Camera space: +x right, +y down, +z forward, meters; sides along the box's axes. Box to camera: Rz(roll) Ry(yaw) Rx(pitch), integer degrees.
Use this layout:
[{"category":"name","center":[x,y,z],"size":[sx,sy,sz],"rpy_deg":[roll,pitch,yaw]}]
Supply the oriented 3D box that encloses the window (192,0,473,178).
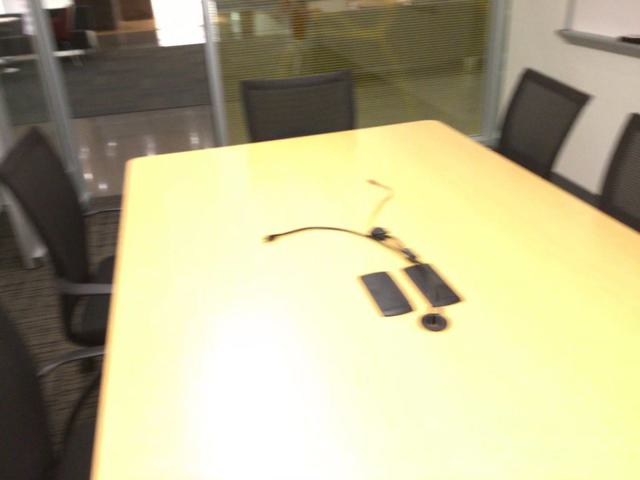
[{"category":"window","center":[0.110,-1.420,3.600],"size":[1.740,1.840,0.180],"rpy_deg":[-11,27,-11]}]
